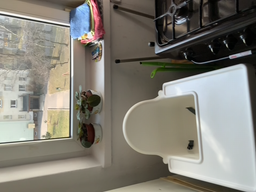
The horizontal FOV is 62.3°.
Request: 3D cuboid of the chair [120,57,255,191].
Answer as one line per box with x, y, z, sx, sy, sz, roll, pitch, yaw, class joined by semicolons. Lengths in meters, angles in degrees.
0.490;0.110;1.070;0.560;0.880;0.390;-10;81;57;chair
